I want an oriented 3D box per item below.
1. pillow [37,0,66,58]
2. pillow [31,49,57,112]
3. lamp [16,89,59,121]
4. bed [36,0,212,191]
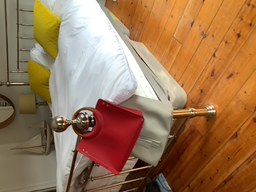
[{"bbox_3d":[-0.830,-0.710,2.250,0.510,0.200,0.370,64,142,38],"label":"pillow"},{"bbox_3d":[-1.100,-0.200,2.720,0.600,0.220,0.530,62,141,40],"label":"pillow"},{"bbox_3d":[-1.450,0.130,3.380,0.380,0.590,0.310,61,140,41],"label":"lamp"},{"bbox_3d":[-0.460,-0.060,2.330,2.140,0.770,1.660,62,141,41],"label":"bed"}]
